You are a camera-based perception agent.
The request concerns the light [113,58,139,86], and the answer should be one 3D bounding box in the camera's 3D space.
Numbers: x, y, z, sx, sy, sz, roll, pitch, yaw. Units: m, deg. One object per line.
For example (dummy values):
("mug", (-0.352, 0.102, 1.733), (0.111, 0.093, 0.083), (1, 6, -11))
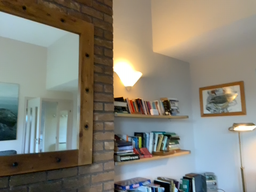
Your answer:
("light", (-0.020, -0.270, 2.430), (0.280, 0.260, 0.120), (4, -10, -37))
